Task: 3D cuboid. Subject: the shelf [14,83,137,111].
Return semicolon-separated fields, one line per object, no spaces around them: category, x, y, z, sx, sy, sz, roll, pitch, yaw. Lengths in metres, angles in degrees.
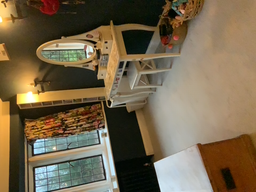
shelf;-0.830;0.010;3.650;0.270;1.980;0.180;116;145;-61

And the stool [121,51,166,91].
stool;0.190;-0.330;2.830;0.390;0.450;0.330;110;149;-56

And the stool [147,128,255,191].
stool;0.610;0.730;1.900;1.040;0.480;0.530;116;144;-61
